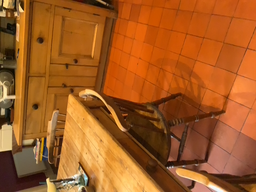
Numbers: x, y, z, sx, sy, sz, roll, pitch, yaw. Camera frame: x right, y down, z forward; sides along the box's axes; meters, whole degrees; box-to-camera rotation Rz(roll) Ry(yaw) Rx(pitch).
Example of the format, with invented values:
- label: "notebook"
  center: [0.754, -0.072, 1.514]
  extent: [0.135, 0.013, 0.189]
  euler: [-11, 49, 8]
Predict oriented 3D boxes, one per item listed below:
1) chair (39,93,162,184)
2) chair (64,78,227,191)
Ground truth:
- label: "chair"
  center: [-0.230, 0.280, 1.770]
  extent: [0.480, 0.820, 0.450]
  euler: [36, 119, 47]
- label: "chair"
  center: [0.110, 0.200, 1.310]
  extent: [0.450, 0.820, 0.470]
  euler: [35, 119, 47]
